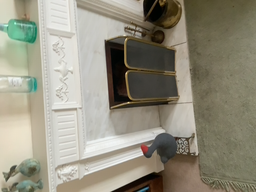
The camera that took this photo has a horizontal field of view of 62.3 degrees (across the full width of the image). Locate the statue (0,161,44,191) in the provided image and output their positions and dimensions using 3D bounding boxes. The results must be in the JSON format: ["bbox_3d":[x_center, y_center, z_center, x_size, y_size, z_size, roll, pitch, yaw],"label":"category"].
[{"bbox_3d":[-0.520,0.440,1.040,0.080,0.180,0.190,-8,86,42],"label":"statue"}]

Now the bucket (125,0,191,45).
[{"bbox_3d":[0.260,-0.660,1.790,0.330,0.450,0.300,-7,86,42],"label":"bucket"}]

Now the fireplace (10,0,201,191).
[{"bbox_3d":[-0.080,-0.150,1.550,0.590,1.190,1.360,-9,85,42],"label":"fireplace"}]
